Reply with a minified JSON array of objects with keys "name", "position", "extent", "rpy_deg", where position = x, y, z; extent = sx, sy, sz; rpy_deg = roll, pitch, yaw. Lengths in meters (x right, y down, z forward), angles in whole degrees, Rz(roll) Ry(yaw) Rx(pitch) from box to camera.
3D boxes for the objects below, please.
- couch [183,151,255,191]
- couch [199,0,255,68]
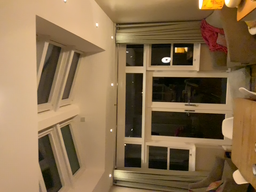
[{"name":"couch","position":[1.760,1.810,4.330],"extent":[0.830,1.090,0.980],"rpy_deg":[-61,-28,-72]},{"name":"couch","position":[1.920,-1.050,3.920],"extent":[1.200,0.880,0.990],"rpy_deg":[-32,-56,-80]}]
